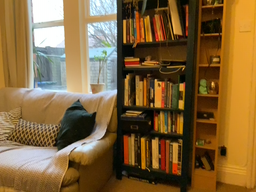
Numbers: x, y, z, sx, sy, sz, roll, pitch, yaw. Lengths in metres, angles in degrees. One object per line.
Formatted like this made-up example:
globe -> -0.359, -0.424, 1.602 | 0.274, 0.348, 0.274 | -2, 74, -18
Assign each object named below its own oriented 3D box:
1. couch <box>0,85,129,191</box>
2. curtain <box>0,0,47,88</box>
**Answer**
couch -> -0.960, 0.370, 1.960 | 1.680, 0.820, 1.040 | 3, 8, 20
curtain -> -1.340, -0.930, 2.650 | 0.410, 1.610, 0.340 | 4, 8, 28
